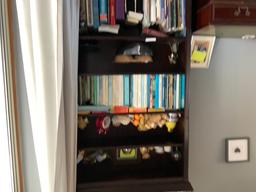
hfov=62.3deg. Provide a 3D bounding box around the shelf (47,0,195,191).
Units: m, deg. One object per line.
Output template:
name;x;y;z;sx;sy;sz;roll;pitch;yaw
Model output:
shelf;-0.040;-0.230;1.660;1.020;1.980;0.320;-2;-173;-8
